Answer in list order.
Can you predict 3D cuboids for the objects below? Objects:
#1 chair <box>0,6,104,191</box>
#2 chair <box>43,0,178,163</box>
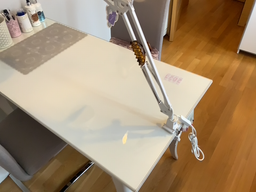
[{"bbox_3d":[-0.540,0.160,1.140,0.450,0.990,0.540,26,53,25],"label":"chair"},{"bbox_3d":[-0.040,-0.110,1.370,0.400,0.990,0.540,27,53,26],"label":"chair"}]
